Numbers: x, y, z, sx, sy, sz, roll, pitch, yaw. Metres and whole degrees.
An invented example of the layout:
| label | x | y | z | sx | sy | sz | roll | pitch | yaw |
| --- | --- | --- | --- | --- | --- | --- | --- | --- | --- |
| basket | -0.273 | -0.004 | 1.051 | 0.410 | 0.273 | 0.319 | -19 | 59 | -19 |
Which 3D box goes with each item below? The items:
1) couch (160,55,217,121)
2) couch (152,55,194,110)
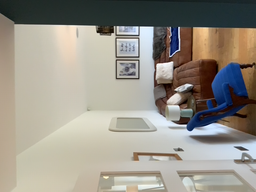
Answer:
| label | x | y | z | sx | sy | sz | roll | pitch | yaw |
| --- | --- | --- | --- | --- | --- | --- | --- | --- | --- |
| couch | 1.170 | -0.170 | 4.430 | 1.340 | 0.750 | 1.170 | -141 | 51 | -86 |
| couch | 1.110 | -0.340 | 5.510 | 0.810 | 0.740 | 1.180 | -93 | 4 | -46 |
